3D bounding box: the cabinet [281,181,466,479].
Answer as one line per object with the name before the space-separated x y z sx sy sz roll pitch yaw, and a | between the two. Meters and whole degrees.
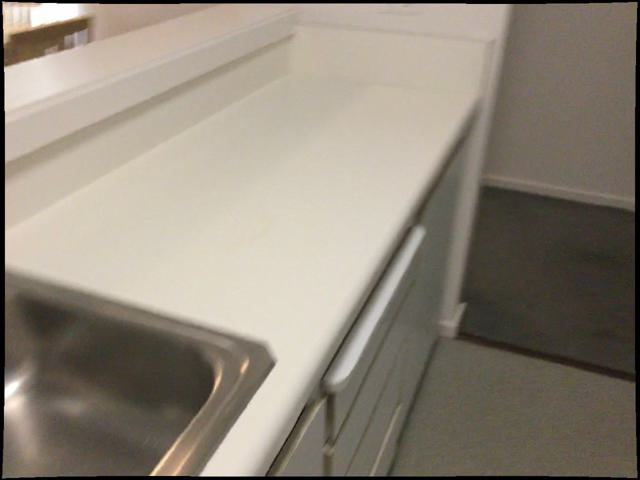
cabinet | 0.180 0.391 1.480 0.090 0.591 1.350 11 32 19
